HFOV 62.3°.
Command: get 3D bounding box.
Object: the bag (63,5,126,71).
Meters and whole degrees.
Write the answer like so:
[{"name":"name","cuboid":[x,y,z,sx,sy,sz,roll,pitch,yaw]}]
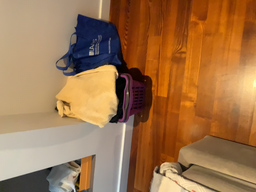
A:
[{"name":"bag","cuboid":[-0.210,-0.350,1.390,0.180,0.360,0.340,8,96,40]}]
